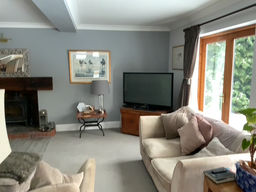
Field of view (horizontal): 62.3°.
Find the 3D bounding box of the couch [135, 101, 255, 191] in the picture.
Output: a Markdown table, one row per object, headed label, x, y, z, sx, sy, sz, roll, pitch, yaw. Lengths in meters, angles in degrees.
| label | x | y | z | sx | sy | sz | roll | pitch | yaw |
| --- | --- | --- | --- | --- | --- | --- | --- | --- | --- |
| couch | 0.760 | 0.650 | 2.740 | 1.020 | 0.840 | 1.710 | -2 | 9 | -10 |
